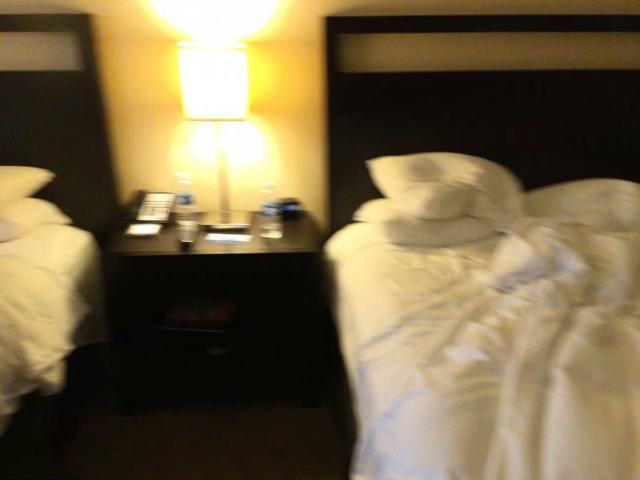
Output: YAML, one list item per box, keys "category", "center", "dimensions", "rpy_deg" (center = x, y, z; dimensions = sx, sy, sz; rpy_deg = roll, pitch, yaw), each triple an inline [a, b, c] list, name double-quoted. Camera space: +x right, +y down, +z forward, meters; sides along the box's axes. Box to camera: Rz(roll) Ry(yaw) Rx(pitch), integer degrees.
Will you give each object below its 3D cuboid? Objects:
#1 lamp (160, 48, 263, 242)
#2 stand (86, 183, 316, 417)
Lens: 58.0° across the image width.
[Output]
- category: "lamp"
  center: [-0.390, -0.370, 2.200]
  dimensions: [0.310, 0.680, 0.350]
  rpy_deg: [0, 18, -2]
- category: "stand"
  center: [-0.410, 0.210, 2.300]
  dimensions: [0.760, 0.770, 0.530]
  rpy_deg: [0, 18, -2]
